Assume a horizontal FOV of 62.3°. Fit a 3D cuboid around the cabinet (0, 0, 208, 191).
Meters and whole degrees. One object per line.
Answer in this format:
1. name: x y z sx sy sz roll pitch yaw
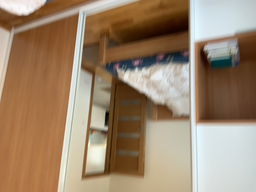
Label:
1. cabinet: -0.460 0.370 2.230 2.360 2.660 0.570 -4 165 27
